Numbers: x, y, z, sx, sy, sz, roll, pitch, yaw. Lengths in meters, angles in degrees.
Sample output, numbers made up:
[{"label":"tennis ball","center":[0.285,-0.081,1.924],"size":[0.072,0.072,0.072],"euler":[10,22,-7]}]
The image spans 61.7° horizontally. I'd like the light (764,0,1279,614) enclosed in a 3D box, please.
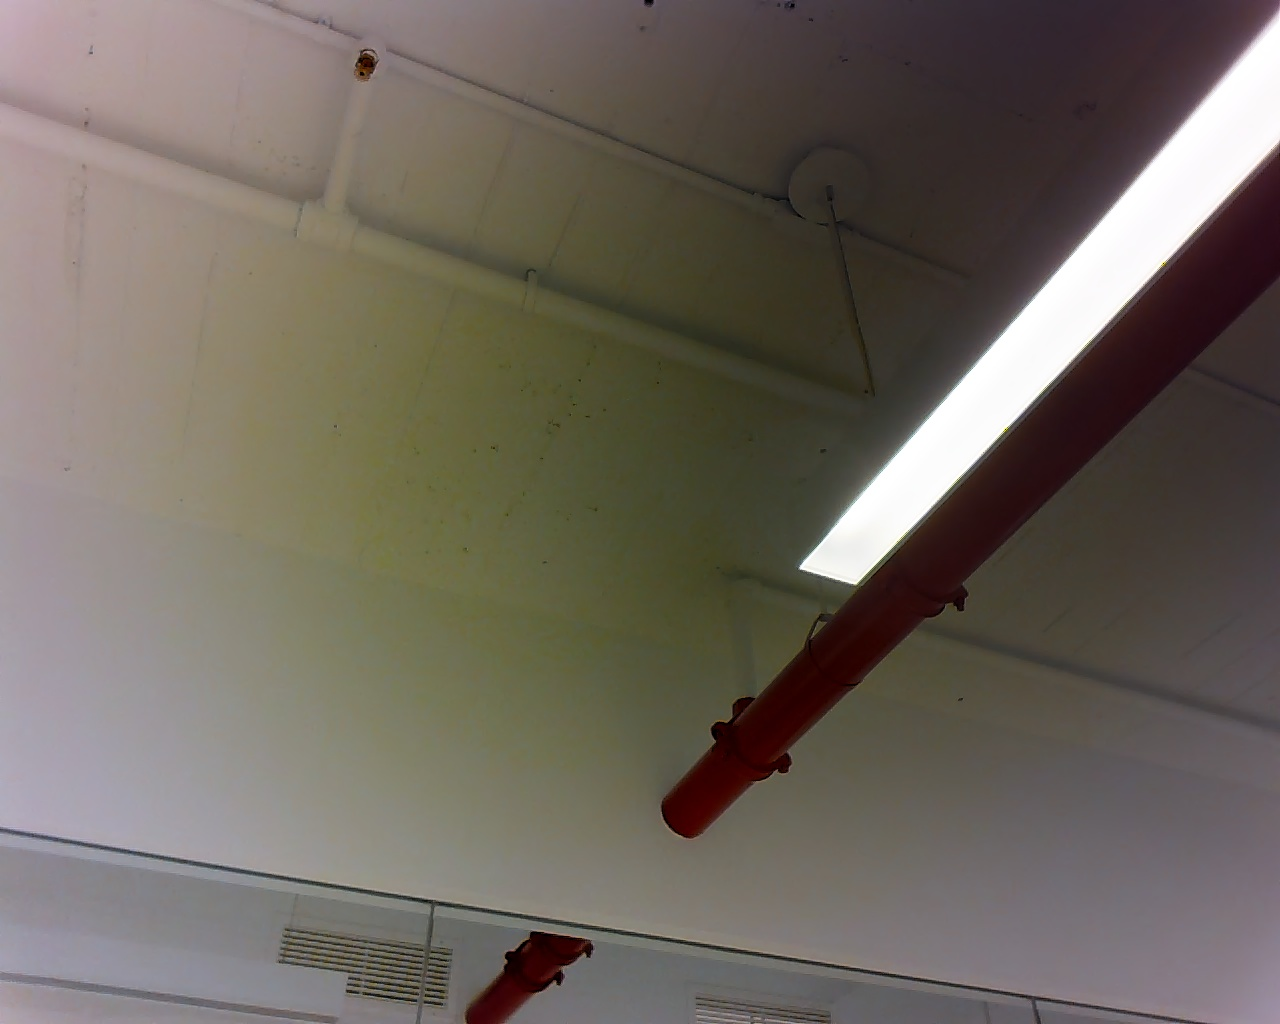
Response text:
[{"label":"light","center":[0.480,-0.350,1.000],"size":[0.130,0.210,1.240],"euler":[16,-45,-17]}]
